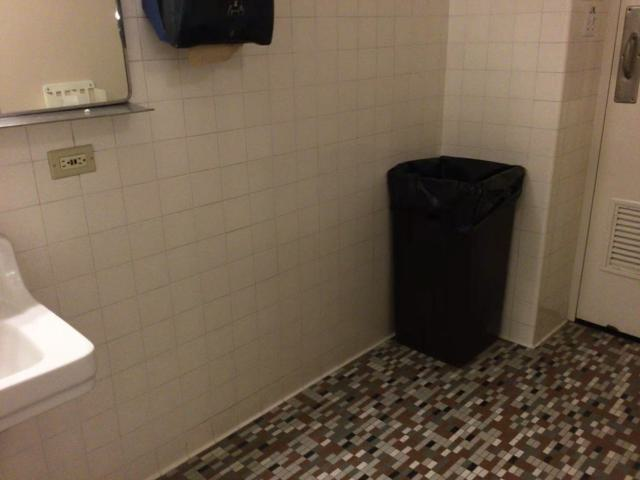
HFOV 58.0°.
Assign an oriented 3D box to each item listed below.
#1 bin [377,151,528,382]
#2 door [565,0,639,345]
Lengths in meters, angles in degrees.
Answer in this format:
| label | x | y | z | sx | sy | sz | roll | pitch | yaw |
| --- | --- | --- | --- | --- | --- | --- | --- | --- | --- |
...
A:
| label | x | y | z | sx | sy | sz | roll | pitch | yaw |
| --- | --- | --- | --- | --- | --- | --- | --- | --- | --- |
| bin | 0.550 | 0.080 | 2.450 | 0.420 | 0.820 | 0.430 | -19 | 24 | -41 |
| door | 1.460 | -0.380 | 2.160 | 0.090 | 1.780 | 0.900 | -19 | 24 | -41 |
